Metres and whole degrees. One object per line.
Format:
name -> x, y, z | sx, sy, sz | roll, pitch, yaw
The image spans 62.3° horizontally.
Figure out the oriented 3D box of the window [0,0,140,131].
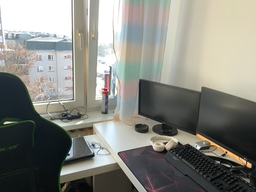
window -> -0.500, -0.540, 1.520 | 1.270, 1.530, 0.120 | -6, 19, -29
